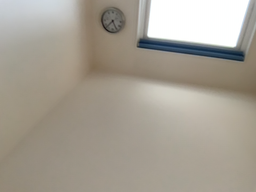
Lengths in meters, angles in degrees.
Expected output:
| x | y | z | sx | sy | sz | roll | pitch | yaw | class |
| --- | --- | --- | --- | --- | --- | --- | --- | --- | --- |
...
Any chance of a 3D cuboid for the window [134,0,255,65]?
| x | y | z | sx | sy | sz | roll | pitch | yaw | class |
| --- | --- | --- | --- | --- | --- | --- | --- | --- | --- |
| 0.670 | -0.910 | 2.060 | 1.120 | 1.010 | 0.250 | 11 | -147 | 11 | window |
